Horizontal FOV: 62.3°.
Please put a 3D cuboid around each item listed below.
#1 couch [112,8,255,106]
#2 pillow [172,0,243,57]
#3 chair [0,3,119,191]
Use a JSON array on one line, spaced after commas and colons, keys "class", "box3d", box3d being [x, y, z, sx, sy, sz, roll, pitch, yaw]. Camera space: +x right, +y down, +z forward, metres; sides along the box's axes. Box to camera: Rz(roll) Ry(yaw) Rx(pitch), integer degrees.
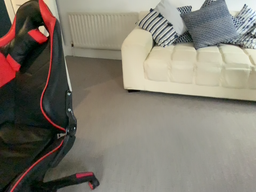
[{"class": "couch", "box3d": [0.980, -0.500, 2.330, 2.040, 0.700, 1.020, 6, 32, 14]}, {"class": "pillow", "box3d": [0.850, -0.800, 2.310, 0.500, 0.520, 0.220, -34, 16, 14]}, {"class": "chair", "box3d": [-0.540, 0.130, 1.110, 0.640, 1.000, 0.970, 7, 33, 15]}]
